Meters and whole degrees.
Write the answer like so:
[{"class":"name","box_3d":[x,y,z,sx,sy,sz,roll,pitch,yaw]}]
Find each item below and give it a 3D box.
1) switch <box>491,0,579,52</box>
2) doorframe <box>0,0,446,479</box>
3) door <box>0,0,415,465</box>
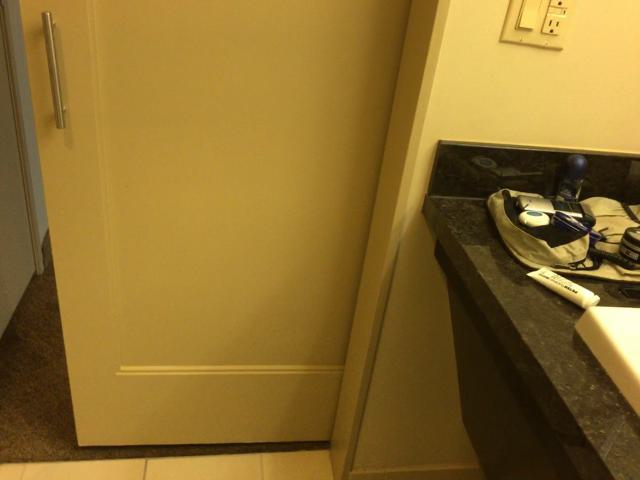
[{"class":"switch","box_3d":[0.350,-0.370,0.930,0.120,0.120,0.020,0,31,-10]},{"class":"doorframe","box_3d":[-0.290,-0.250,1.000,0.900,1.990,0.230,0,31,-10]},{"class":"door","box_3d":[-0.240,0.000,1.270,0.700,1.290,0.120,0,31,-10]}]
